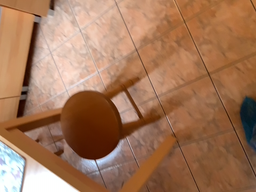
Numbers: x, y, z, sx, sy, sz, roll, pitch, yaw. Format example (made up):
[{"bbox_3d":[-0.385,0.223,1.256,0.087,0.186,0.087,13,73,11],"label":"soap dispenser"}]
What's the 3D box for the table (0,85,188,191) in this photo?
[{"bbox_3d":[-0.300,0.640,1.100,0.680,0.770,1.170,24,107,21],"label":"table"}]
